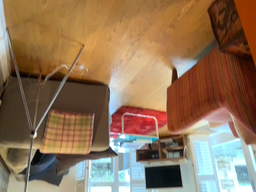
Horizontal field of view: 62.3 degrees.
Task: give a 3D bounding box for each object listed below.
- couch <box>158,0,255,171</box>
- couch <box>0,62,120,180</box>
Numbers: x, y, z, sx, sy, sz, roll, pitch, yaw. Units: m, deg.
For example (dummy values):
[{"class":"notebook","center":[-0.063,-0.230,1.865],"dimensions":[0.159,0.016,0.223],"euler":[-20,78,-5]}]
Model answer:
[{"class":"couch","center":[0.820,0.010,1.470],"dimensions":[0.790,0.880,0.930],"euler":[6,155,-18]},{"class":"couch","center":[-1.030,0.620,2.810],"dimensions":[1.030,0.780,2.420],"euler":[9,153,-22]}]
